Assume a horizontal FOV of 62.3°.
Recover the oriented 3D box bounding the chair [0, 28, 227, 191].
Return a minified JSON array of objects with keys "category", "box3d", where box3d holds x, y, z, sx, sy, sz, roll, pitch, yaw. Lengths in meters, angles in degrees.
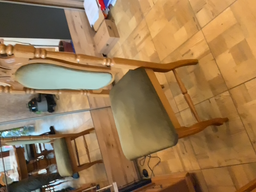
[{"category":"chair","box3d":[-0.090,0.050,1.160,0.470,1.120,0.570,-39,65,51]}]
